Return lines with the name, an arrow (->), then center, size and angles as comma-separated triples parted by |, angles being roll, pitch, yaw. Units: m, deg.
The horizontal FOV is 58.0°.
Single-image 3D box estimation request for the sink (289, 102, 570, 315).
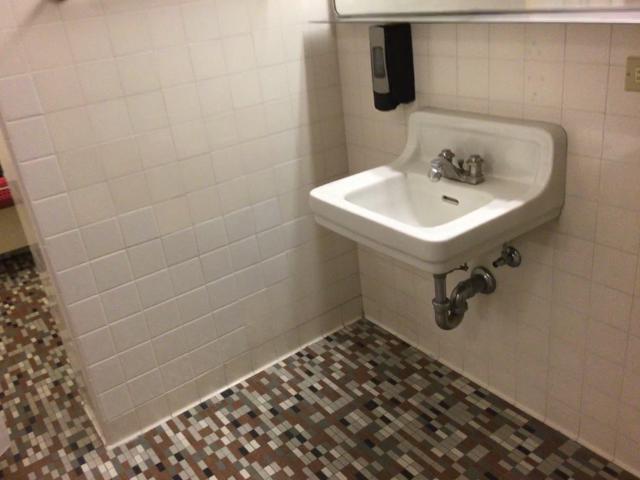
sink -> 0.270, -0.130, 1.530 | 0.460, 0.340, 0.530 | -20, 27, -30
